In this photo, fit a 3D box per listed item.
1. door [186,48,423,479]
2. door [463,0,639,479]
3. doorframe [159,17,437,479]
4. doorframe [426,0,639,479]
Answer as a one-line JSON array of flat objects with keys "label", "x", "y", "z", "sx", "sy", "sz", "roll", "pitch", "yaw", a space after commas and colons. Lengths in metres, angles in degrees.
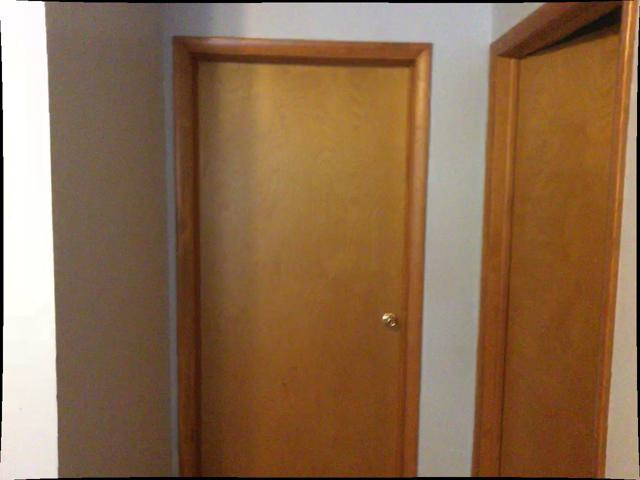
[{"label": "door", "x": -0.090, "y": 0.220, "z": 2.470, "sx": 0.919, "sy": 1.942, "sz": 0.200, "roll": 1, "pitch": 8, "yaw": -4}, {"label": "door", "x": 0.789, "y": 0.280, "z": 2.010, "sx": 0.180, "sy": 1.992, "sz": 0.770, "roll": 1, "pitch": 8, "yaw": -8}, {"label": "doorframe", "x": -0.120, "y": 0.160, "z": 2.480, "sx": 1.089, "sy": 2.062, "sz": 0.170, "roll": 2, "pitch": 8, "yaw": -3}, {"label": "doorframe", "x": 0.709, "y": 0.250, "z": 1.930, "sx": 0.230, "sy": 2.062, "sz": 1.160, "roll": 1, "pitch": 8, "yaw": -8}]
